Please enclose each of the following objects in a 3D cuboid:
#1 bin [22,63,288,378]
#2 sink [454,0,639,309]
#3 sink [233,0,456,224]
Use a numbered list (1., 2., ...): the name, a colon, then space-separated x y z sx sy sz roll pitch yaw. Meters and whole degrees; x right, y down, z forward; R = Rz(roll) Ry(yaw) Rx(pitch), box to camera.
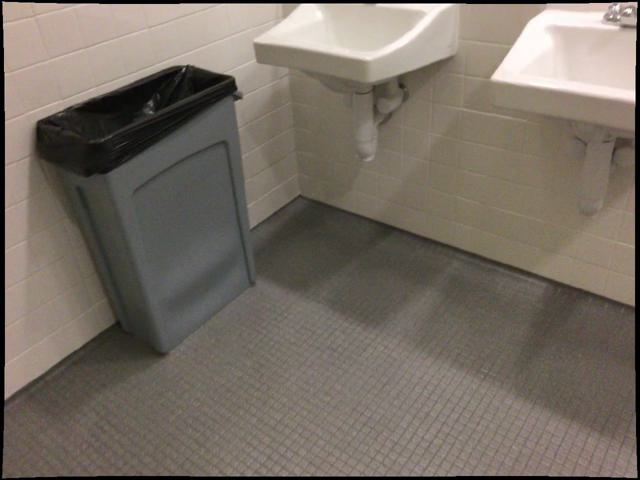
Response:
1. bin: -0.459 -0.080 1.880 0.280 0.771 0.640 20 42 32
2. sink: 0.708 -0.251 1.480 0.539 0.591 0.450 20 42 32
3. sink: 0.100 -0.471 1.880 0.499 0.581 0.450 20 42 32
